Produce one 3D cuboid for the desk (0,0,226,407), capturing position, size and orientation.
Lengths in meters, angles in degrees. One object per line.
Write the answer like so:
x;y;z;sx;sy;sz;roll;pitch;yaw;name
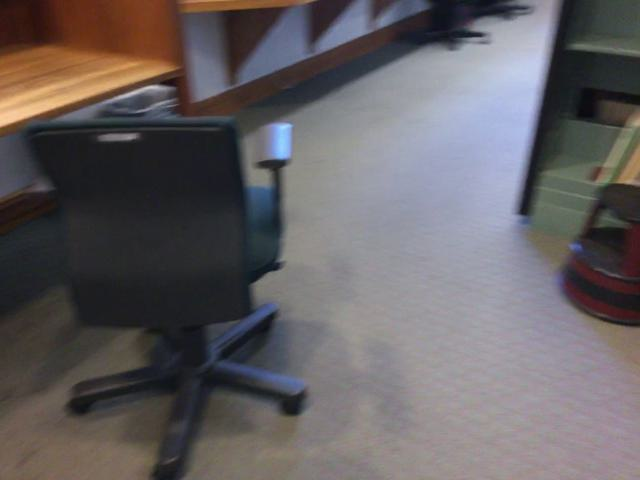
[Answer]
-1.200;-0.390;1.760;1.050;1.390;1.340;19;37;29;desk
